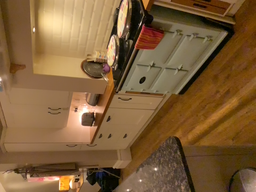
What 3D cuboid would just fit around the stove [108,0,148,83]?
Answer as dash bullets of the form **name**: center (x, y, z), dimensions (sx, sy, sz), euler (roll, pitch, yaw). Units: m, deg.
- **stove**: center (-0.050, -0.690, 2.230), dimensions (0.880, 0.050, 0.710), euler (120, 148, -50)
